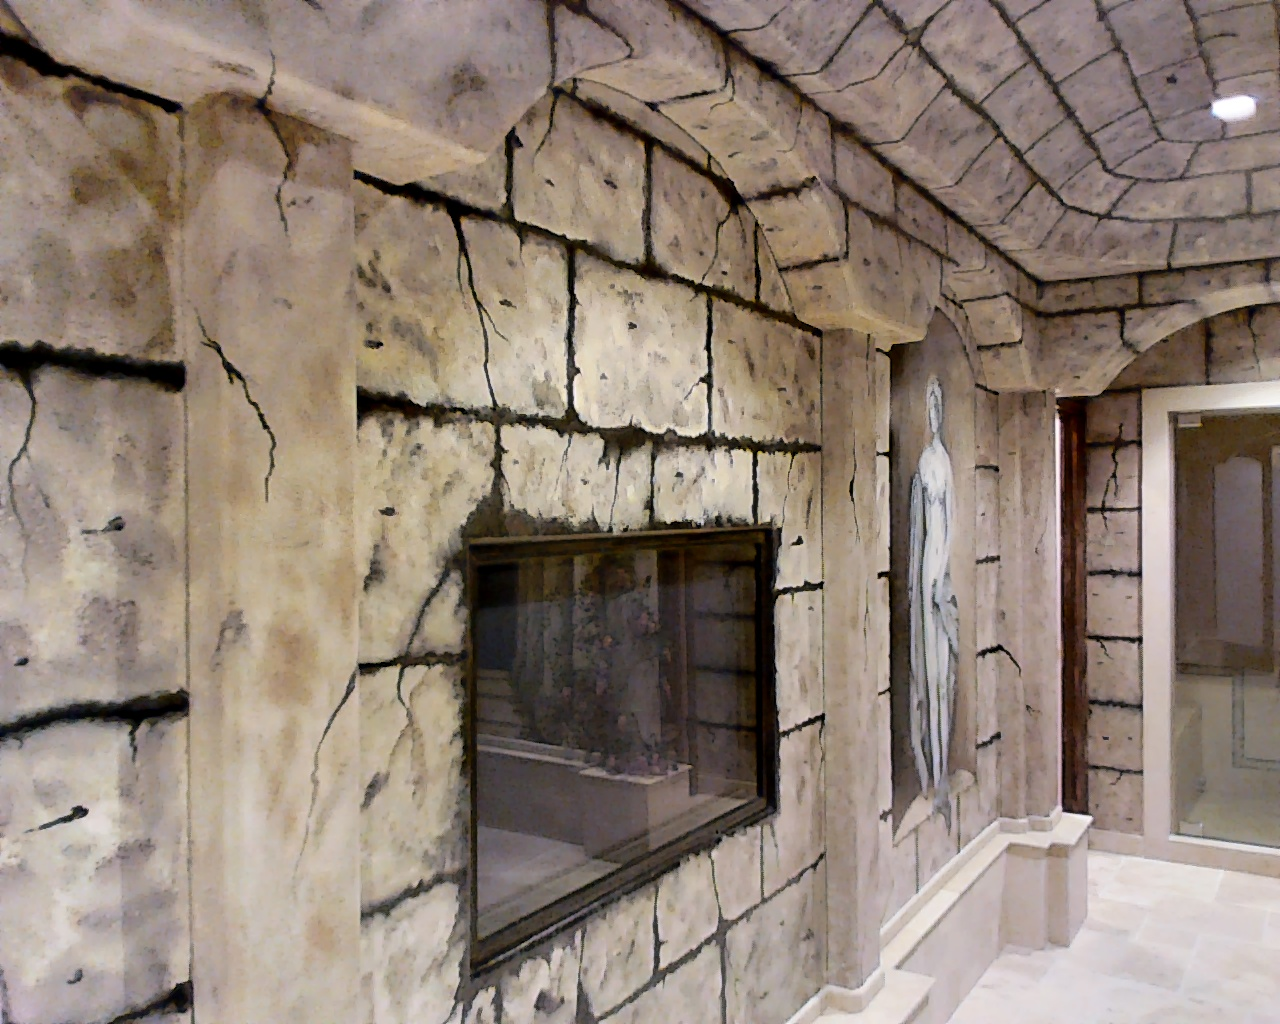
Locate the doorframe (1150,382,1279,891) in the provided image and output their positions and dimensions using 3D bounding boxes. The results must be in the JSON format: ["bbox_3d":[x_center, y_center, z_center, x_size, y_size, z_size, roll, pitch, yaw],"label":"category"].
[{"bbox_3d":[2.949,0.550,4.820,1.140,2.251,0.260,-1,0,34],"label":"doorframe"}]
